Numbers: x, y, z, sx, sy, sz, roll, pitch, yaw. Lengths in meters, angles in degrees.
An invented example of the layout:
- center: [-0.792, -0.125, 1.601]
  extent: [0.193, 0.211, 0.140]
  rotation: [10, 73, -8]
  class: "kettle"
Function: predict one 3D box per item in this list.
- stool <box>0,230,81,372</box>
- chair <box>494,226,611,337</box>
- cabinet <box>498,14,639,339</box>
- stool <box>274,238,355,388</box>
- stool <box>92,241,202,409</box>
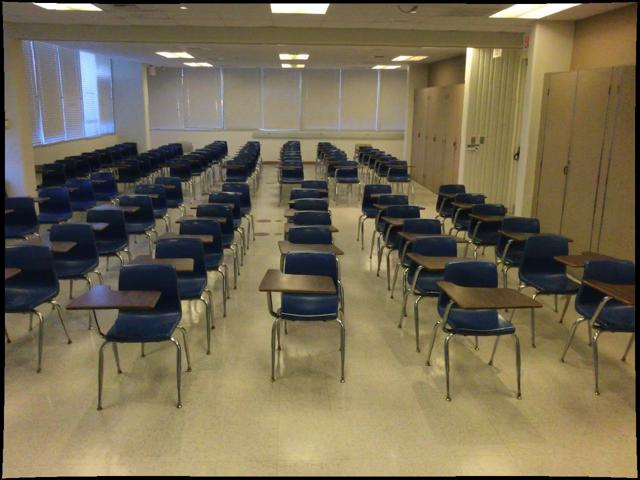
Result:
- center: [-2.055, 0.401, 4.000]
  extent: [0.479, 0.802, 0.630]
  rotation: [1, 15, -1]
  class: "stool"
- center: [1.805, 0.301, 4.580]
  extent: [0.509, 0.662, 0.760]
  rotation: [0, 15, -6]
  class: "chair"
- center: [2.823, -0.571, 4.820]
  extent: [0.718, 2.456, 4.401]
  rotation: [0, 15, -6]
  class: "cabinet"
- center: [-0.060, 0.481, 4.070]
  extent: [0.509, 0.812, 0.790]
  rotation: [0, 15, -3]
  class: "stool"
- center: [-1.077, 0.501, 3.770]
  extent: [0.489, 0.762, 0.940]
  rotation: [0, 15, -6]
  class: "stool"
